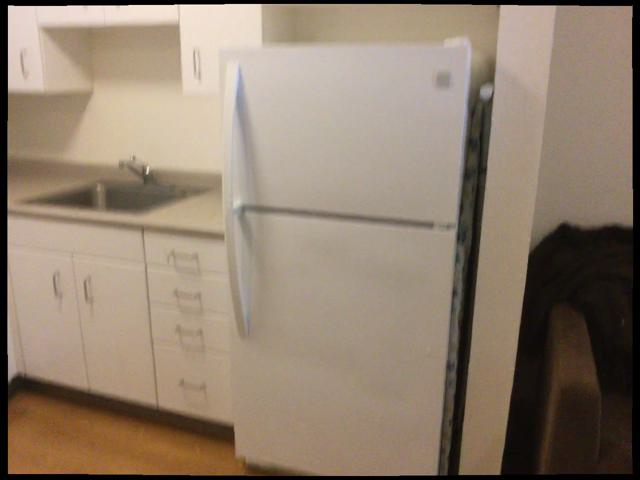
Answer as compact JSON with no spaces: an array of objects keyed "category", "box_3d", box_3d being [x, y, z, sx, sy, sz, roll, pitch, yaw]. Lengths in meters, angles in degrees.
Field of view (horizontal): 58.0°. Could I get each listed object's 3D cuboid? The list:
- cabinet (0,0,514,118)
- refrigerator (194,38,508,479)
[{"category":"cabinet","box_3d":[-0.459,-1.122,2.280,2.356,1.132,0.390,7,19,20]},{"category":"refrigerator","box_3d":[0.150,0.100,2.070,0.819,1.533,0.730,7,19,20]}]
